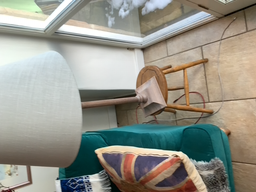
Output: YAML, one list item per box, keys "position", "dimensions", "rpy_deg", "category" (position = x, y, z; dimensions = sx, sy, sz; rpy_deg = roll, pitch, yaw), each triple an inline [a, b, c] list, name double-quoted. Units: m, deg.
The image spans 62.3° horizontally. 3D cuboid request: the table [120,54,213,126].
- position: [0.270, -0.040, 1.470]
  dimensions: [0.400, 0.470, 0.400]
  rpy_deg: [-4, 91, 49]
  category: "table"
